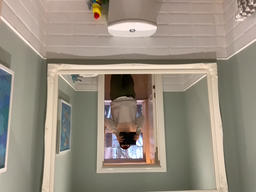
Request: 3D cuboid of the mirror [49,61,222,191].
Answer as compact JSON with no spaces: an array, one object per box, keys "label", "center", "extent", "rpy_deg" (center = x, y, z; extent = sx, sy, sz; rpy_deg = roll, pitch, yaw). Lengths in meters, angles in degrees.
[{"label":"mirror","center":[0.060,0.240,1.700],"extent":[1.320,1.070,0.030],"rpy_deg":[-1,171,-3]}]
